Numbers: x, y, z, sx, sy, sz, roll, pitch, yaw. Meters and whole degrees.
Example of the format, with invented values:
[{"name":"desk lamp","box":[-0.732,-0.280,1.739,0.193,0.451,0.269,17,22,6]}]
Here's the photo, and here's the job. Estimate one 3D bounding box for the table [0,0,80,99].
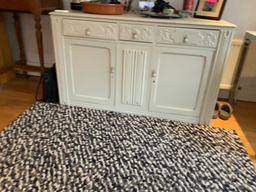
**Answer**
[{"name":"table","box":[-0.910,-0.580,2.150,0.610,1.030,0.530,6,27,8]}]
